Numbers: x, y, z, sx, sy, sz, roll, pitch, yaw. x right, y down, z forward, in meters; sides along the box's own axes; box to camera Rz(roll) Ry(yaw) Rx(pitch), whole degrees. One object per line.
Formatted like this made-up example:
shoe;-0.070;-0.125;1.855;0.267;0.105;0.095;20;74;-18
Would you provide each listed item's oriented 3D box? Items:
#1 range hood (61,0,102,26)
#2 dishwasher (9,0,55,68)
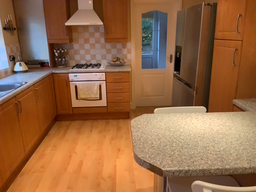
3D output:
range hood;-0.750;-1.470;3.510;0.580;0.580;0.490;-2;17;-3
dishwasher;-1.630;-1.140;3.650;0.500;1.250;0.320;-2;17;-2
